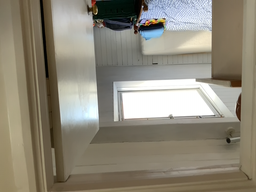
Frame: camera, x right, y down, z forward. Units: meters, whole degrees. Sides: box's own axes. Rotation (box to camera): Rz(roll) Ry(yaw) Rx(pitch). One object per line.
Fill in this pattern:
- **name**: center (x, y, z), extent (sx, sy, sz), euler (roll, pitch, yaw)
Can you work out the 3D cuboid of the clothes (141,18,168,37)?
- **clothes**: center (0.390, -1.040, 3.250), extent (0.380, 0.180, 0.420), euler (-2, -174, 4)
